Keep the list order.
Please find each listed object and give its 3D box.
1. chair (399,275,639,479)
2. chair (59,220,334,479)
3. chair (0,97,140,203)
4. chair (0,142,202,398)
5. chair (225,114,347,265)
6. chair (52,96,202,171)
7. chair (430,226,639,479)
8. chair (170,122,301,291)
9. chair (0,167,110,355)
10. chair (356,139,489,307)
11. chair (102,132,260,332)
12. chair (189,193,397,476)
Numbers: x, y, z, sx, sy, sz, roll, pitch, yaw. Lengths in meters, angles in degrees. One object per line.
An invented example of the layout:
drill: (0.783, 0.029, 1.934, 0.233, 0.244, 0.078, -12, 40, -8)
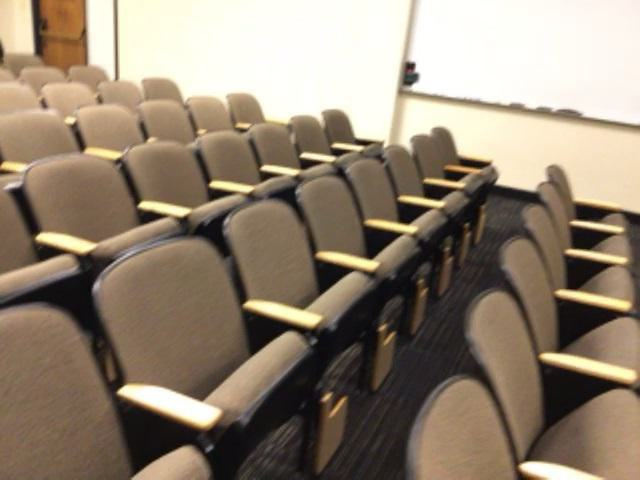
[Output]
chair: (0.540, 0.600, 1.480, 0.570, 0.740, 0.630, 14, 21, 19)
chair: (-0.330, 0.410, 1.640, 0.490, 0.740, 0.540, 14, 21, 19)
chair: (-1.360, -0.480, 2.880, 0.610, 0.340, 0.650, 14, 21, 19)
chair: (-0.900, 0.070, 2.340, 0.540, 0.770, 0.620, 14, 21, 19)
chair: (-0.210, -0.350, 3.700, 0.500, 0.780, 0.590, 14, 21, 19)
chair: (-1.120, -0.660, 3.450, 0.460, 0.290, 0.750, 14, 21, 19)
chair: (0.780, 0.460, 1.950, 0.580, 0.760, 0.680, 14, 21, 19)
chair: (-0.470, -0.210, 3.220, 0.500, 0.770, 0.470, 14, 21, 19)
chair: (-1.110, 0.040, 1.860, 0.580, 0.390, 0.570, 14, 21, 19)
chair: (0.620, -0.140, 3.410, 0.500, 0.740, 0.740, 14, 21, 19)
chair: (-0.670, -0.070, 2.800, 0.510, 0.770, 0.510, 14, 21, 19)
chair: (-0.100, 0.300, 2.070, 0.530, 0.770, 0.450, 14, 21, 19)
